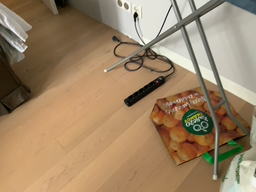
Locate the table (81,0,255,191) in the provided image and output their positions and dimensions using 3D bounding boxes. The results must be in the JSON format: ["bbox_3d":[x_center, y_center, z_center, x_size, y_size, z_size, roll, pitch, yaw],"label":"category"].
[{"bbox_3d":[0.210,-0.310,1.090,0.340,0.840,1.390,-29,55,-19],"label":"table"}]
